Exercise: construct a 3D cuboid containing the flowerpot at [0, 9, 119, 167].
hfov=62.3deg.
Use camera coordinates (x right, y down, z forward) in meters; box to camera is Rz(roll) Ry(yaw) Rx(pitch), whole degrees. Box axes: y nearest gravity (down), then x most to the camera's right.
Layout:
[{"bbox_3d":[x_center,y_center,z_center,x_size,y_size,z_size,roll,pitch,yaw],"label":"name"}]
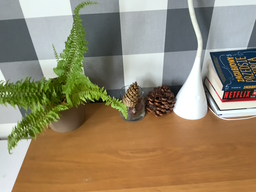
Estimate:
[{"bbox_3d":[-0.240,-0.020,0.570,0.390,0.320,0.230,-7,38,-4],"label":"flowerpot"}]
